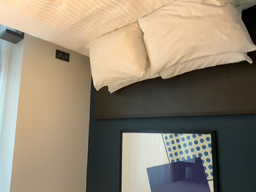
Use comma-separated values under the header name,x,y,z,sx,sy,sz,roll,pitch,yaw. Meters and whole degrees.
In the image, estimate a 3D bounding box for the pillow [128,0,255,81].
name,x,y,z,sx,sy,sz,roll,pitch,yaw
pillow,0.370,-0.400,1.330,0.620,0.440,0.220,-13,-167,43

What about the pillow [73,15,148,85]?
name,x,y,z,sx,sy,sz,roll,pitch,yaw
pillow,-0.180,-0.340,1.740,0.240,0.370,0.670,-14,-178,-35
